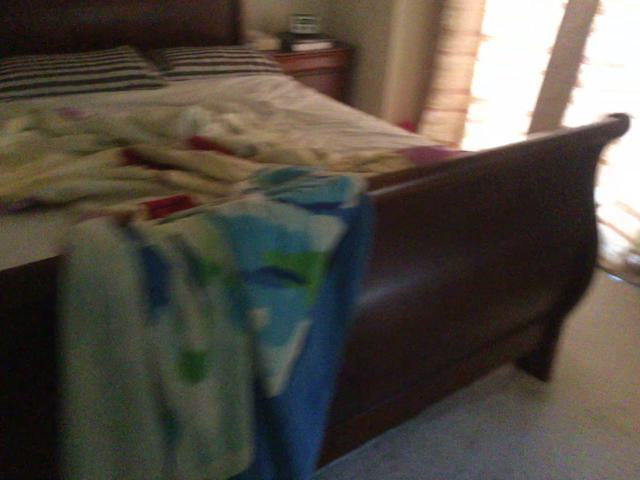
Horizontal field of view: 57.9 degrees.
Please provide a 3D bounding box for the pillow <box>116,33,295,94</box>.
[{"bbox_3d":[-0.520,-0.820,2.630,0.650,0.120,0.480,-18,33,-29],"label":"pillow"}]

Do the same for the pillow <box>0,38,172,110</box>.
[{"bbox_3d":[-1.020,-0.670,2.290,0.710,0.120,0.480,-18,33,-29],"label":"pillow"}]

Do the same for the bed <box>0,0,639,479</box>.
[{"bbox_3d":[-0.520,-0.290,1.930,1.660,1.180,2.360,-18,33,-29],"label":"bed"}]
